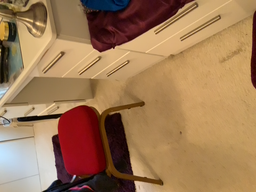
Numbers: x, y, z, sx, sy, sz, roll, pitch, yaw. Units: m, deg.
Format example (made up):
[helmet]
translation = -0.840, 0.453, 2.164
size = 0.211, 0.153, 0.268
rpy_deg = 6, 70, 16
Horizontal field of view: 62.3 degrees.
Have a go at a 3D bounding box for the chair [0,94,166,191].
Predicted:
[chair]
translation = -0.280, 0.340, 1.280
size = 0.480, 0.840, 0.580
rpy_deg = -22, 75, 43

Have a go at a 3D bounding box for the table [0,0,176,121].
[table]
translation = -0.470, -0.250, 1.490
size = 1.270, 0.790, 0.510
rpy_deg = -25, 74, 42
